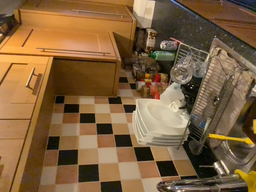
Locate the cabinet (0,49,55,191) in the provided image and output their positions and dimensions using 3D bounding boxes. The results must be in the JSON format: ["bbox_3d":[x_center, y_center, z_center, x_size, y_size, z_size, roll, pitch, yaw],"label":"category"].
[{"bbox_3d":[-0.570,0.190,0.890,1.200,0.380,0.300,-108,22,-53],"label":"cabinet"}]
